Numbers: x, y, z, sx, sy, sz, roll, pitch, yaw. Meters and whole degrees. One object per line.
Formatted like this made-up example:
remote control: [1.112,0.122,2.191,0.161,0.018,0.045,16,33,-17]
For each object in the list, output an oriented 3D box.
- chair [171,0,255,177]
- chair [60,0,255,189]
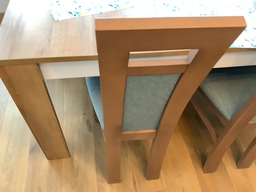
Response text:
chair: [0.590,-0.050,1.000,0.450,1.000,0.480,-4,52,-8]
chair: [0.040,-0.010,0.930,0.450,1.000,0.480,-4,52,-8]
